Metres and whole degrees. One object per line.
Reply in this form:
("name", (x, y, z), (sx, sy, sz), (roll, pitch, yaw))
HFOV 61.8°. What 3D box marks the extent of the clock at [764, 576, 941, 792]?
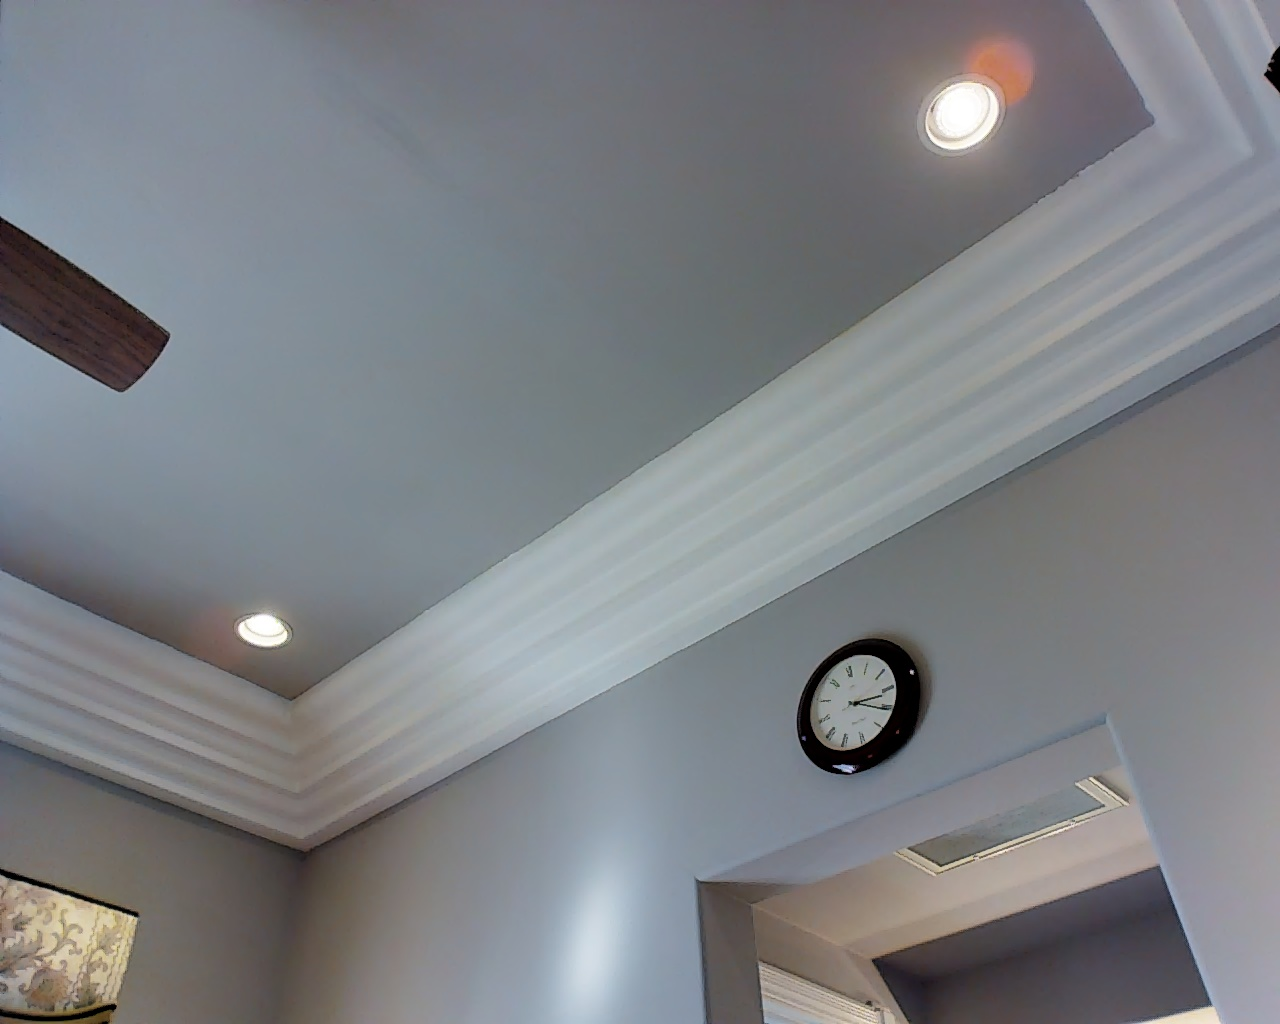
("clock", (0.490, 0.410, 2.560), (0.400, 0.400, 0.050), (-33, -50, 30))
